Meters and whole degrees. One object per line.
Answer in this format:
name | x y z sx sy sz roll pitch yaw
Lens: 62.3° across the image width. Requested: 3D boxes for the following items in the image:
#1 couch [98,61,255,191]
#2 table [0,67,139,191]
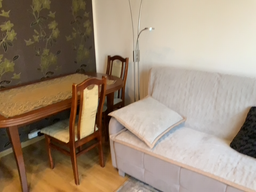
couch | 0.920 0.370 1.700 2.140 0.930 1.030 14 24 34
table | -0.730 0.250 2.320 0.900 0.770 1.660 15 24 36
